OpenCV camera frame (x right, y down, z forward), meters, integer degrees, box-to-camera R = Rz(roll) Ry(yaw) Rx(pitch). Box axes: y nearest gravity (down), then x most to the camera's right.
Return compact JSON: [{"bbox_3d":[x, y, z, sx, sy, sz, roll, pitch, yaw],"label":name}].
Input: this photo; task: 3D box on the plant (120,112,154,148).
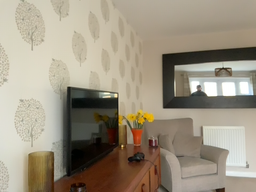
[{"bbox_3d":[0.110,0.350,2.330,0.280,0.330,0.410,-1,-2,18],"label":"plant"}]
